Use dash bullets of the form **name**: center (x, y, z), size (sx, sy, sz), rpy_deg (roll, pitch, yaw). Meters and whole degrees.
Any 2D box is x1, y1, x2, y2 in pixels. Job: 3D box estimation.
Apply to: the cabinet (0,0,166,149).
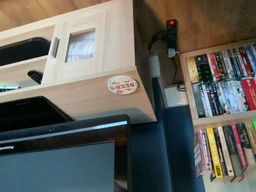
- **cabinet**: center (-0.460, -0.060, 1.090), size (1.200, 0.460, 0.450), rpy_deg (-10, 147, 13)
